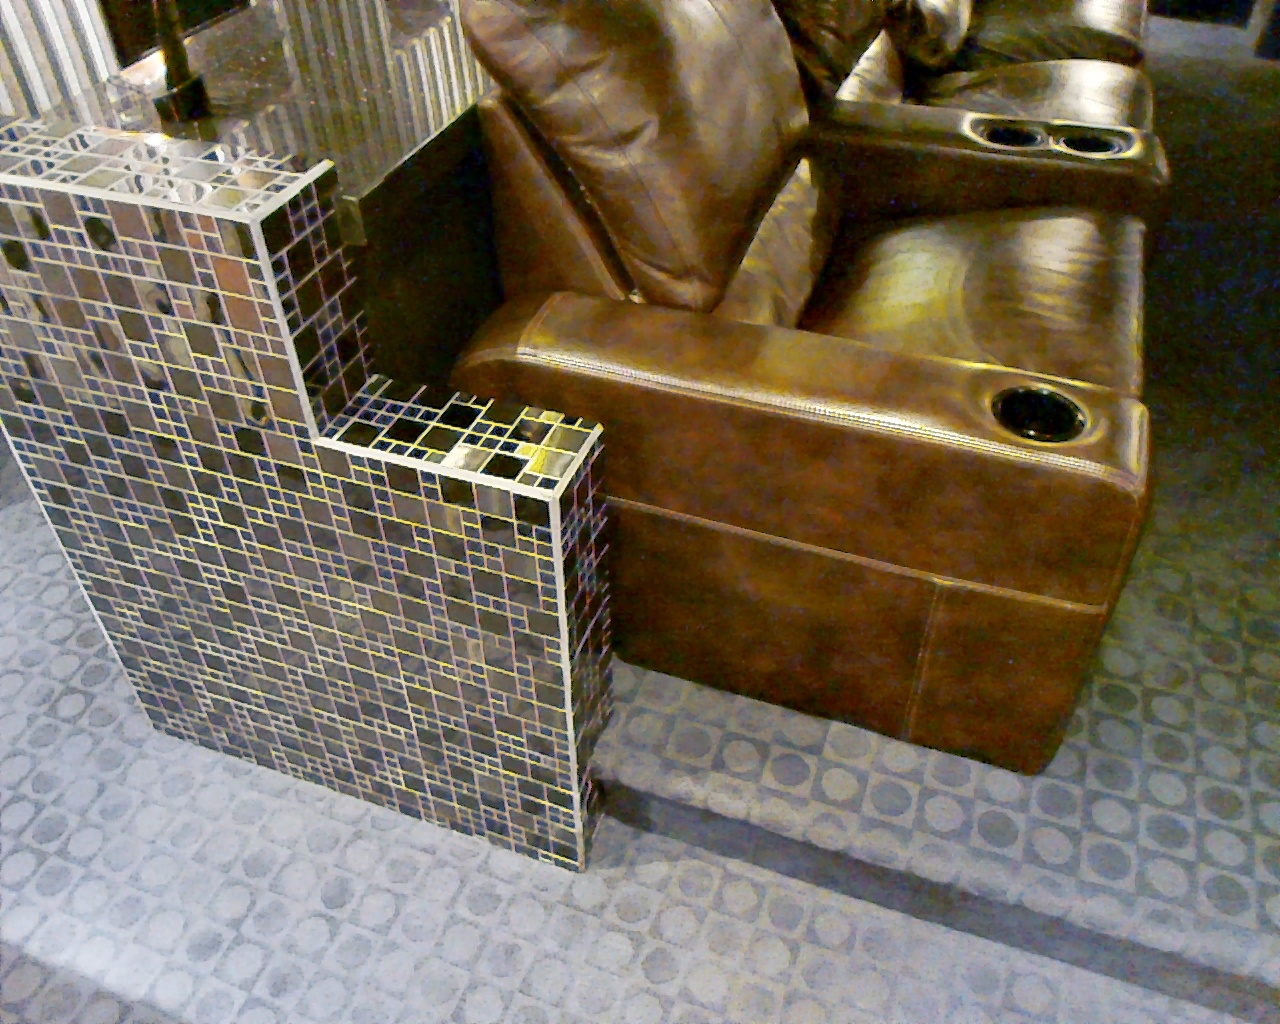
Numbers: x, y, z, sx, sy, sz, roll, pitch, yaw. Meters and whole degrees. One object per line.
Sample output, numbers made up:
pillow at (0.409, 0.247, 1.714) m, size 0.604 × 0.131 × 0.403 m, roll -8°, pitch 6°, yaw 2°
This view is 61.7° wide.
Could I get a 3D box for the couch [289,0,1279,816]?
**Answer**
couch at (0.740, -1.130, 2.560) m, size 1.070 × 1.000 × 3.450 m, roll 13°, pitch 43°, yaw 16°
